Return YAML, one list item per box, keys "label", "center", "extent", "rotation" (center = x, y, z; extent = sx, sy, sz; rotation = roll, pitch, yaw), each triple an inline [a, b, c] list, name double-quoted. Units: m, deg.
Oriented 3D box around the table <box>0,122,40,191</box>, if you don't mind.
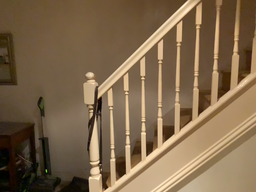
- label: "table"
  center: [-1.670, 0.740, 2.590]
  extent: [0.940, 0.750, 0.460]
  rotation: [0, 9, 6]
